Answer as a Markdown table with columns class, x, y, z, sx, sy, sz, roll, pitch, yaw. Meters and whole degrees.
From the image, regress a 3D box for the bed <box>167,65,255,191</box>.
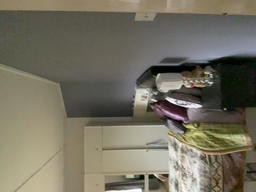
| class | x | y | z | sx | sy | sz | roll | pitch | yaw |
| --- | --- | --- | --- | --- | --- | --- | --- | --- | --- |
| bed | 1.070 | 0.770 | 2.830 | 1.610 | 0.710 | 2.080 | 154 | 116 | -86 |
